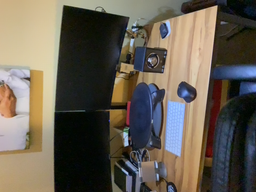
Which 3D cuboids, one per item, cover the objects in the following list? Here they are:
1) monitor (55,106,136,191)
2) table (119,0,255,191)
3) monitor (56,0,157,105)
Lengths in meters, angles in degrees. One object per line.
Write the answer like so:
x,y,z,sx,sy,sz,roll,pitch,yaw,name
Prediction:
-0.200,0.400,1.400,0.050,0.530,0.660,-12,79,63,monitor
0.470,0.110,1.490,0.790,0.730,1.290,18,105,63,table
-0.140,-0.240,1.300,0.050,0.530,0.640,49,132,53,monitor
